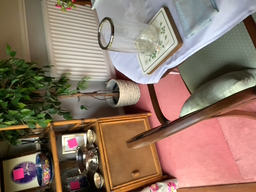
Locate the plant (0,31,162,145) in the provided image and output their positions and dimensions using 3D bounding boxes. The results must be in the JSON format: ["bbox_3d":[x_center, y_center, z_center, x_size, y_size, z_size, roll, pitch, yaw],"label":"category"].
[{"bbox_3d":[-0.640,-0.030,1.790,0.620,1.740,0.640,-38,61,49],"label":"plant"}]
